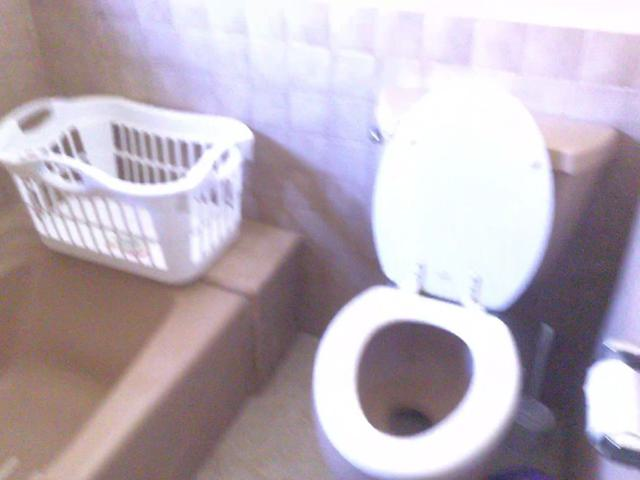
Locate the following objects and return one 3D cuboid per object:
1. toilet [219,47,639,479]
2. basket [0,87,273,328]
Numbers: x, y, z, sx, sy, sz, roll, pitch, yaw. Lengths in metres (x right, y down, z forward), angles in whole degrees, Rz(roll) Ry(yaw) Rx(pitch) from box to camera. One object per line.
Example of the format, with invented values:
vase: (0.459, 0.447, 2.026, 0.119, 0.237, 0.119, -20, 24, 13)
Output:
toilet: (0.250, 0.180, 1.160, 0.510, 0.890, 0.730, 13, 35, 19)
basket: (-0.510, -0.120, 1.500, 0.640, 0.360, 0.420, 13, 35, 19)
